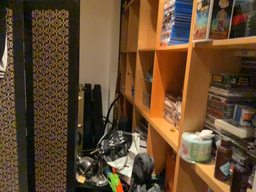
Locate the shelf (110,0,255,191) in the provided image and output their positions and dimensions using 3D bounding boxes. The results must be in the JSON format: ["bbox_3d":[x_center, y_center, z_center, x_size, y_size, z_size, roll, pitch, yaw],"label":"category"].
[{"bbox_3d":[0.240,0.180,1.710,0.420,2.070,2.450,1,11,-11],"label":"shelf"}]
